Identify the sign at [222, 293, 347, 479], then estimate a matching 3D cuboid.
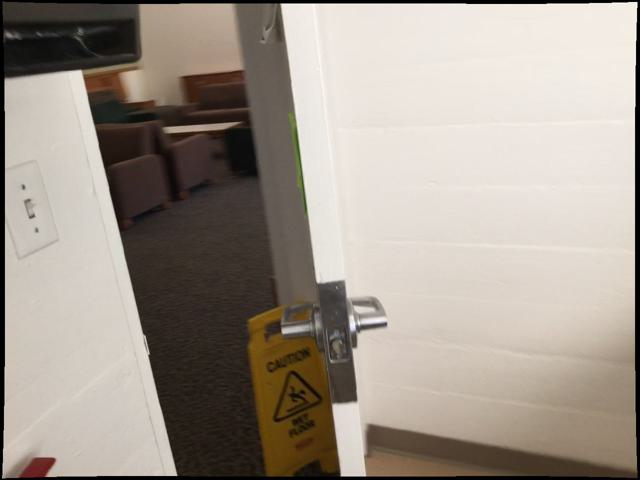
[{"bbox_3d":[-0.100,0.541,1.930,0.249,0.671,0.250,1,22,20],"label":"sign"}]
